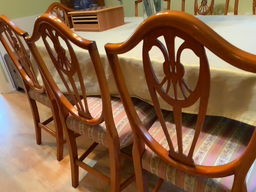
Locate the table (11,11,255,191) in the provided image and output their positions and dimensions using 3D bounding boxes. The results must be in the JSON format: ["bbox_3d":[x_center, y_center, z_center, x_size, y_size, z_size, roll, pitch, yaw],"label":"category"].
[{"bbox_3d":[0.230,-0.120,1.560,1.900,0.760,1.110,17,36,38],"label":"table"}]

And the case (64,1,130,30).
[{"bbox_3d":[-0.250,-0.660,1.730,0.400,0.150,0.330,16,35,36],"label":"case"}]
